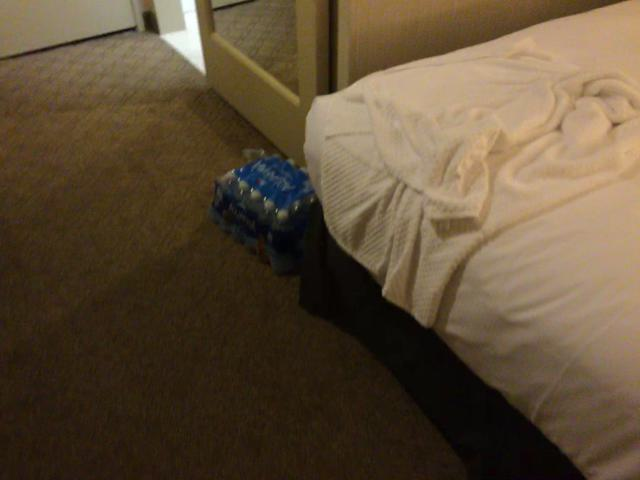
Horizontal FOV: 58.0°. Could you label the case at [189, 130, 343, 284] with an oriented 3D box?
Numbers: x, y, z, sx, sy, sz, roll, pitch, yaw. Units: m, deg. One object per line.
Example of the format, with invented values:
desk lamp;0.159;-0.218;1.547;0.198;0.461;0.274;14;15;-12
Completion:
case;-0.170;-0.120;1.790;0.290;0.220;0.430;-22;42;-24
